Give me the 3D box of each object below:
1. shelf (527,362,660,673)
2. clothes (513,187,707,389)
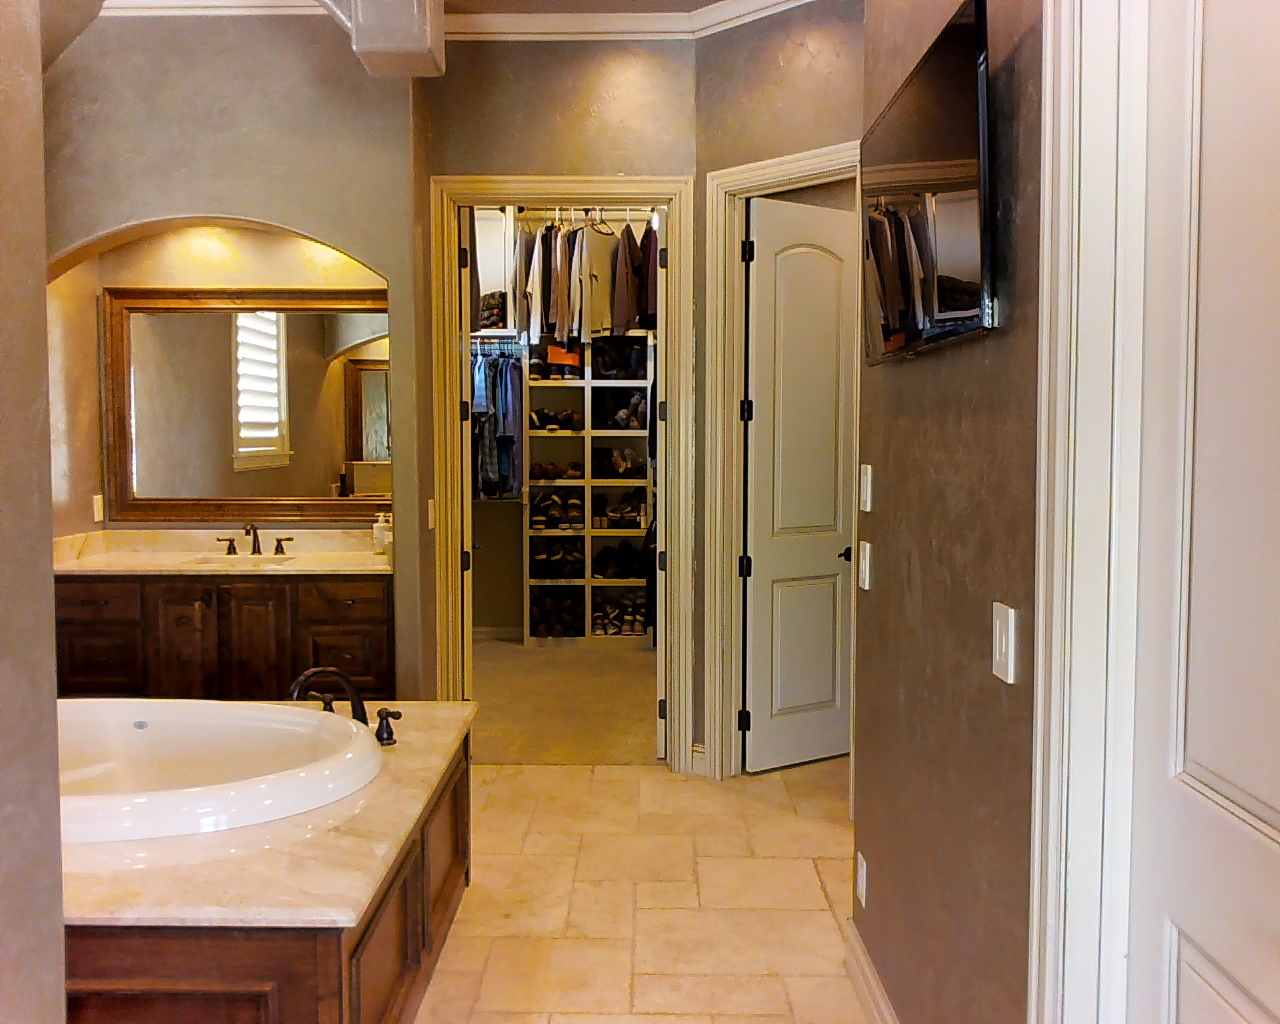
[{"bbox_3d":[-0.300,0.030,7.260,0.850,2.030,0.560,0,3,0],"label":"shelf"},{"bbox_3d":[-0.190,-1.480,7.200,1.250,1.260,0.510,0,3,0],"label":"clothes"}]
